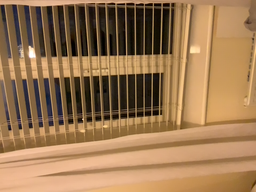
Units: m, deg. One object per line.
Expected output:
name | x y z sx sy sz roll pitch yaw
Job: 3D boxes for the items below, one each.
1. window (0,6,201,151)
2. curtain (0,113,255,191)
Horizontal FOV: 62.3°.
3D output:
window | -0.210 -0.100 1.150 0.090 1.250 0.690 -135 42 -68
curtain | 0.170 0.390 1.020 0.300 2.380 0.410 -135 42 -68
